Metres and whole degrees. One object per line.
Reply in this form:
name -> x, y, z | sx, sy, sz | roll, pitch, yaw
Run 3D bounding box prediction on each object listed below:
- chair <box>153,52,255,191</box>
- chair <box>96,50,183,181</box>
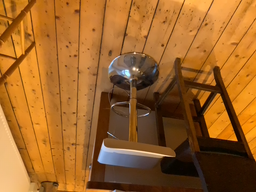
chair -> 0.470, 0.250, 1.410 | 0.400, 1.030, 0.470 | 9, 138, -11
chair -> 0.040, 0.120, 1.470 | 0.420, 0.750, 0.450 | 6, 139, -7
